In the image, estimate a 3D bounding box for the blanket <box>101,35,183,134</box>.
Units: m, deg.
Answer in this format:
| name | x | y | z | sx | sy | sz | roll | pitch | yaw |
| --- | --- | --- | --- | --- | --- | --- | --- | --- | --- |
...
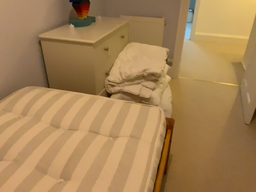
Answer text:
| name | x | y | z | sx | sy | sz | roll | pitch | yaw |
| --- | --- | --- | --- | --- | --- | --- | --- | --- | --- |
| blanket | 0.160 | -0.160 | 1.930 | 0.520 | 0.550 | 0.750 | 10 | 32 | 14 |
